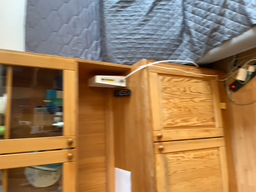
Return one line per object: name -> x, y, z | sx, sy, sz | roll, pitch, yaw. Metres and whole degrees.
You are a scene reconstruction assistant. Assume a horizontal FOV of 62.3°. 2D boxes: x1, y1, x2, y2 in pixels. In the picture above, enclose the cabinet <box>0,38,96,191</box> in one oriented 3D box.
cabinet -> -0.600, 0.260, 1.100 | 0.350, 0.770, 1.010 | -15, 75, 58
